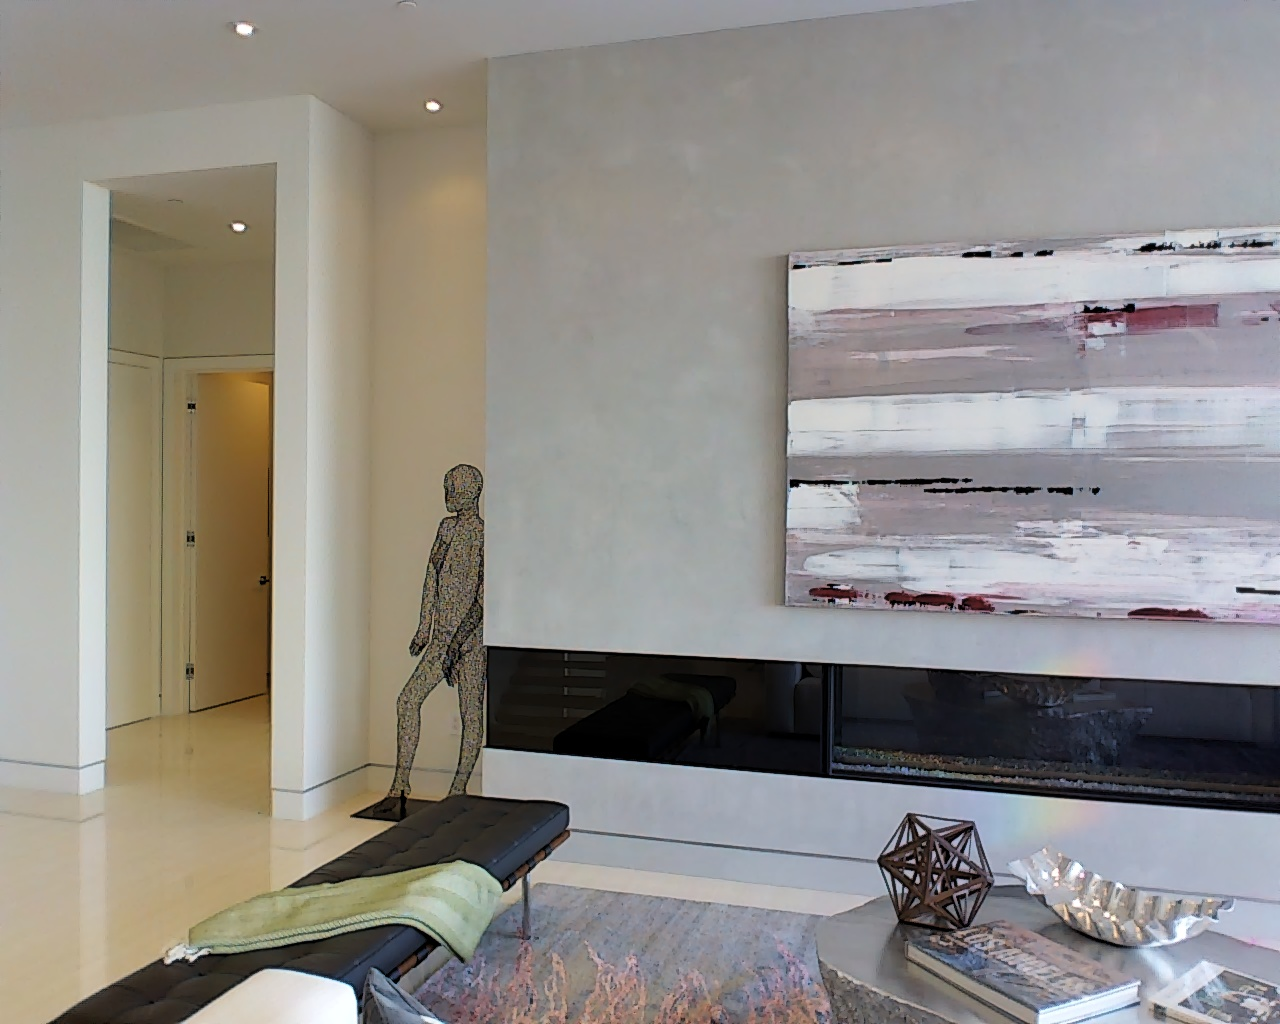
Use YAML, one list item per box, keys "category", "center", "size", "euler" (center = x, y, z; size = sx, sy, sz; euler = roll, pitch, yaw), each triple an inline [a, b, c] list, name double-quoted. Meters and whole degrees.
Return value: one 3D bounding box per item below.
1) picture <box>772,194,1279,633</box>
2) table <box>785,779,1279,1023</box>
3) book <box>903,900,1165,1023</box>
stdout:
- category: "picture"
  center: [1.630, -0.340, 3.890]
  size: [2.290, 1.490, 0.110]
  euler: [1, 1, 17]
- category: "table"
  center: [1.100, 1.160, 2.550]
  size: [1.330, 0.680, 1.020]
  euler: [1, 1, 19]
- category: "book"
  center: [0.890, 1.040, 2.480]
  size: [0.340, 0.080, 0.460]
  euler: [0, 1, -25]
